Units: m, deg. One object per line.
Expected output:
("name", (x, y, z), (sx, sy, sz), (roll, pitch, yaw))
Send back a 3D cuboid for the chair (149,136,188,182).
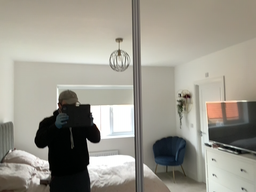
("chair", (0.880, 1.390, 4.790), (0.750, 0.830, 0.730), (-1, -2, 3))
